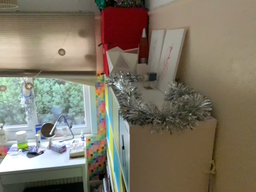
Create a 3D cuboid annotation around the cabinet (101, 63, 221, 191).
[{"bbox_3d":[0.060,0.580,1.760,0.430,1.510,1.460,-3,16,-9],"label":"cabinet"}]
